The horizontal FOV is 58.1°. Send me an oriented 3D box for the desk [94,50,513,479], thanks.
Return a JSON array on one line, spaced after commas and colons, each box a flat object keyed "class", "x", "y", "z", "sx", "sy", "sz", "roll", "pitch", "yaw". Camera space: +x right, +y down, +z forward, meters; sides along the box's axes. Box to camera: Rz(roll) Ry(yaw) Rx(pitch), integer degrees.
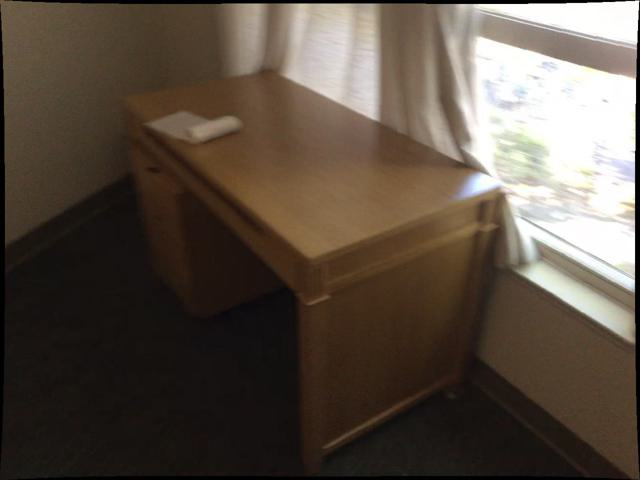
[{"class": "desk", "x": -0.140, "y": -0.020, "z": 1.950, "sx": 0.669, "sy": 0.801, "sz": 1.230, "roll": -23, "pitch": 42, "yaw": -29}]
